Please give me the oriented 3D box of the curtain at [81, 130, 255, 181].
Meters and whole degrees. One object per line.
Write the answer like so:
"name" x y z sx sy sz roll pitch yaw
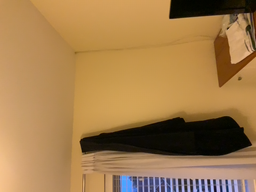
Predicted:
"curtain" 0.720 0.440 1.600 0.200 2.140 0.340 59 -152 -77
